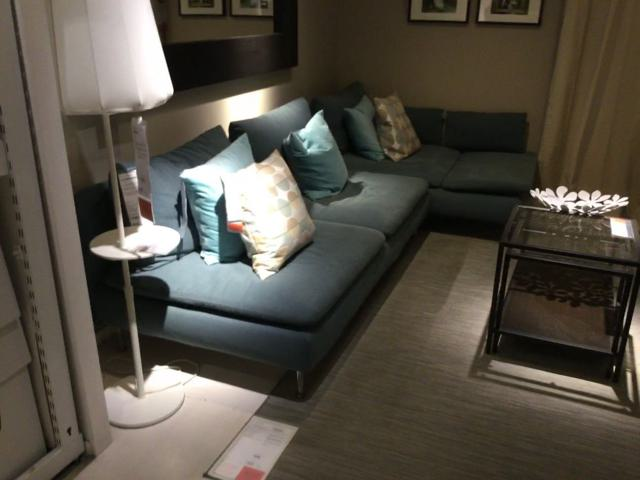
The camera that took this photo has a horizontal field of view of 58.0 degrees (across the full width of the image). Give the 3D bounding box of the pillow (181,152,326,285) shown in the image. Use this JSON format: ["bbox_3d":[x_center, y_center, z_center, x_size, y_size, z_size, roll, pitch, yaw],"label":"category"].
[{"bbox_3d":[-0.240,-0.110,2.300,0.320,0.370,0.490,6,23,27],"label":"pillow"}]

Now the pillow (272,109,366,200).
[{"bbox_3d":[0.010,-0.480,3.140,0.310,0.390,0.460,6,23,27],"label":"pillow"}]

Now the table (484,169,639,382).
[{"bbox_3d":[1.080,0.080,2.510,0.510,0.540,0.940,6,23,27],"label":"table"}]

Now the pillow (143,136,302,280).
[{"bbox_3d":[-0.370,-0.160,2.370,0.340,0.430,0.540,6,23,27],"label":"pillow"}]
